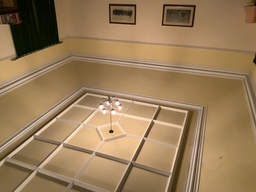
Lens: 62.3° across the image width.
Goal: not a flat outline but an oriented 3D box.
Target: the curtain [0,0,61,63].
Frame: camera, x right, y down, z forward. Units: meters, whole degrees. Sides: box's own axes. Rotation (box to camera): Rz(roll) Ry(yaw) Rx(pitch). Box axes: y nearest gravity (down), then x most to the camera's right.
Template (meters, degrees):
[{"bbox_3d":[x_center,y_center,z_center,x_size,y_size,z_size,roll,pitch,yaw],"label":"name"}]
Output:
[{"bbox_3d":[-2.570,-2.580,5.360,0.300,3.000,1.820,11,-150,17],"label":"curtain"}]
